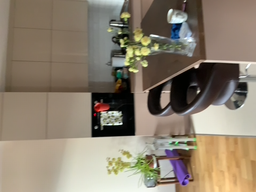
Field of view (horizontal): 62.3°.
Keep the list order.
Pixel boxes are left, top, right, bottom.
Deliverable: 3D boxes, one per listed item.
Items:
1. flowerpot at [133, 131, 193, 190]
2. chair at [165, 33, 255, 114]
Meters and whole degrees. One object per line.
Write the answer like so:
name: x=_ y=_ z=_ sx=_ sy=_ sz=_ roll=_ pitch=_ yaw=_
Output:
flowerpot: x=0.500 y=0.940 z=3.270 sx=0.650 sy=0.700 sz=0.710 roll=159 pitch=111 yaw=-77
chair: x=0.800 y=-0.110 z=1.640 sx=0.590 sy=0.840 sz=0.480 roll=152 pitch=118 yaw=-76
